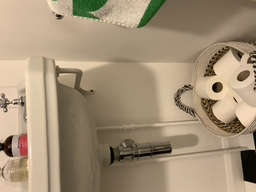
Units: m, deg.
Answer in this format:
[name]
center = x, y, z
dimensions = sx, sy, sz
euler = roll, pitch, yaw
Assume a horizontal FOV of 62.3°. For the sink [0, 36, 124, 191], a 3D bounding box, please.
[sink]
center = -0.210, 0.190, 0.630
dimensions = 0.410, 0.290, 0.590
euler = 155, 111, -72
